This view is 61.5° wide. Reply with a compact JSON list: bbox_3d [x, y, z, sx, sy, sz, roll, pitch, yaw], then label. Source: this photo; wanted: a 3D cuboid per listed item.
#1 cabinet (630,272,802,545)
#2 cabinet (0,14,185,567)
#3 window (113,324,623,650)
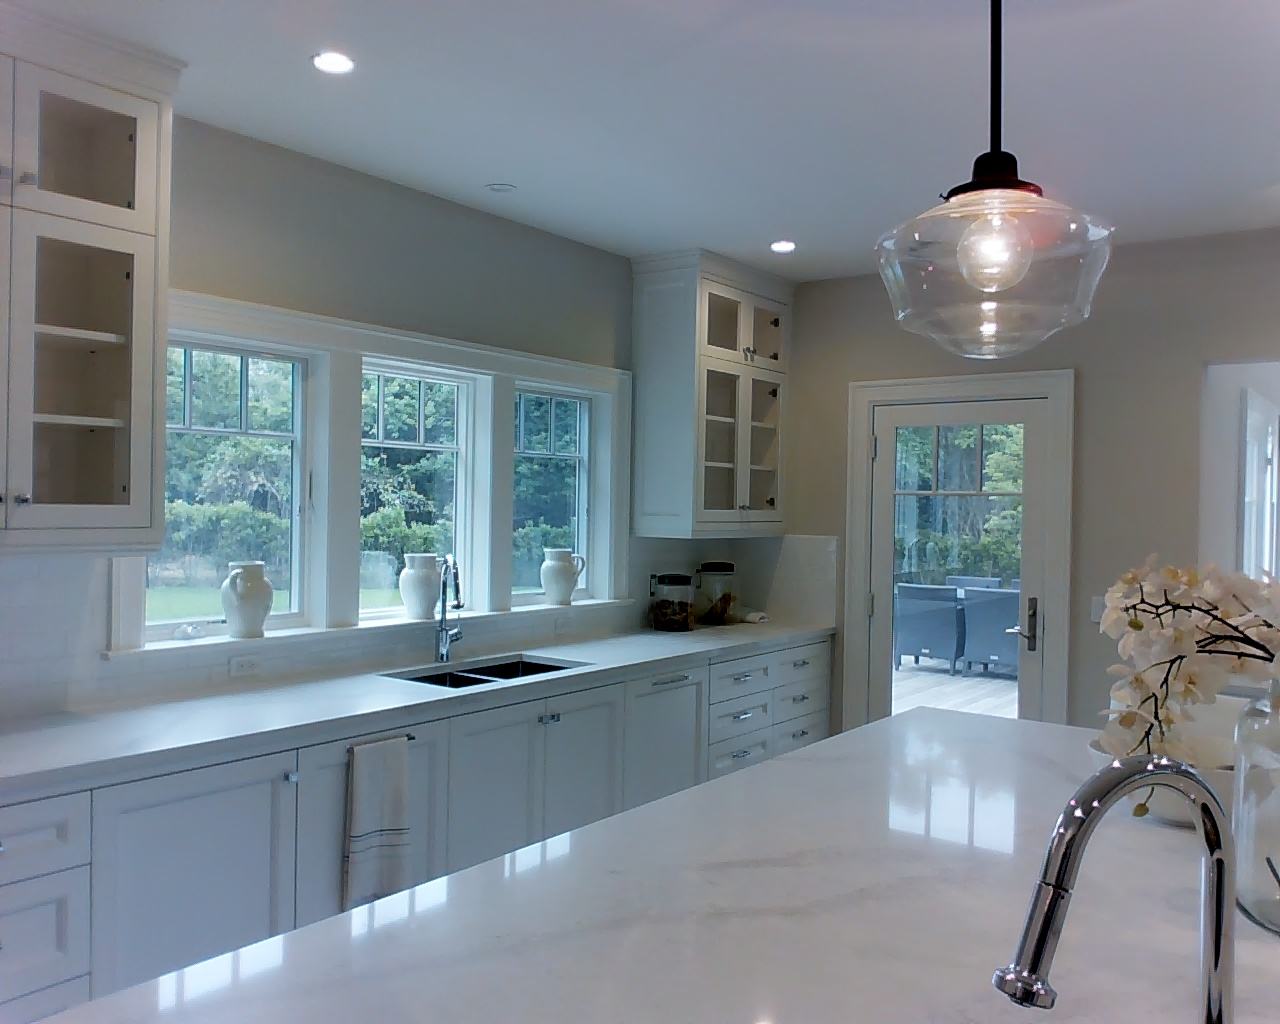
[{"bbox_3d":[0.410,-0.480,5.500,0.400,1.270,0.960,1,0,37],"label":"cabinet"},{"bbox_3d":[-1.650,-0.530,2.750,0.400,1.320,0.780,1,0,37],"label":"cabinet"},{"bbox_3d":[-0.880,-0.070,4.270,0.260,0.990,2.300,1,0,37],"label":"window"}]
